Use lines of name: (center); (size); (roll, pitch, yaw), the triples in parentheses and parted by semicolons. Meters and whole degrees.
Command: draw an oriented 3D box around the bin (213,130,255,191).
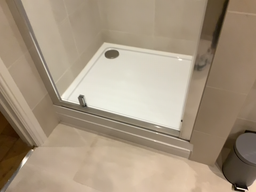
bin: (0.580, 0.330, 1.070); (0.230, 0.240, 0.160); (11, 49, 14)
